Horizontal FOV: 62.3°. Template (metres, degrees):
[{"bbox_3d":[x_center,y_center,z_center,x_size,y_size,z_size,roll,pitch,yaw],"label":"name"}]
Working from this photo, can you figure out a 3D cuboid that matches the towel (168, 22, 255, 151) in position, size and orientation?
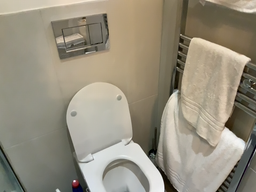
[{"bbox_3d":[0.320,-0.040,0.900,0.100,0.440,0.320,-20,40,-20],"label":"towel"}]

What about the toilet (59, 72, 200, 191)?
[{"bbox_3d":[-0.020,0.390,1.150,0.390,0.820,0.540,-19,38,-23],"label":"toilet"}]

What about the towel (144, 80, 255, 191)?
[{"bbox_3d":[0.300,0.340,1.100,0.100,0.740,0.490,-30,44,-34],"label":"towel"}]

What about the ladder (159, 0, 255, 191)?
[{"bbox_3d":[0.360,0.110,1.050,0.070,1.530,0.460,-18,38,-22],"label":"ladder"}]
